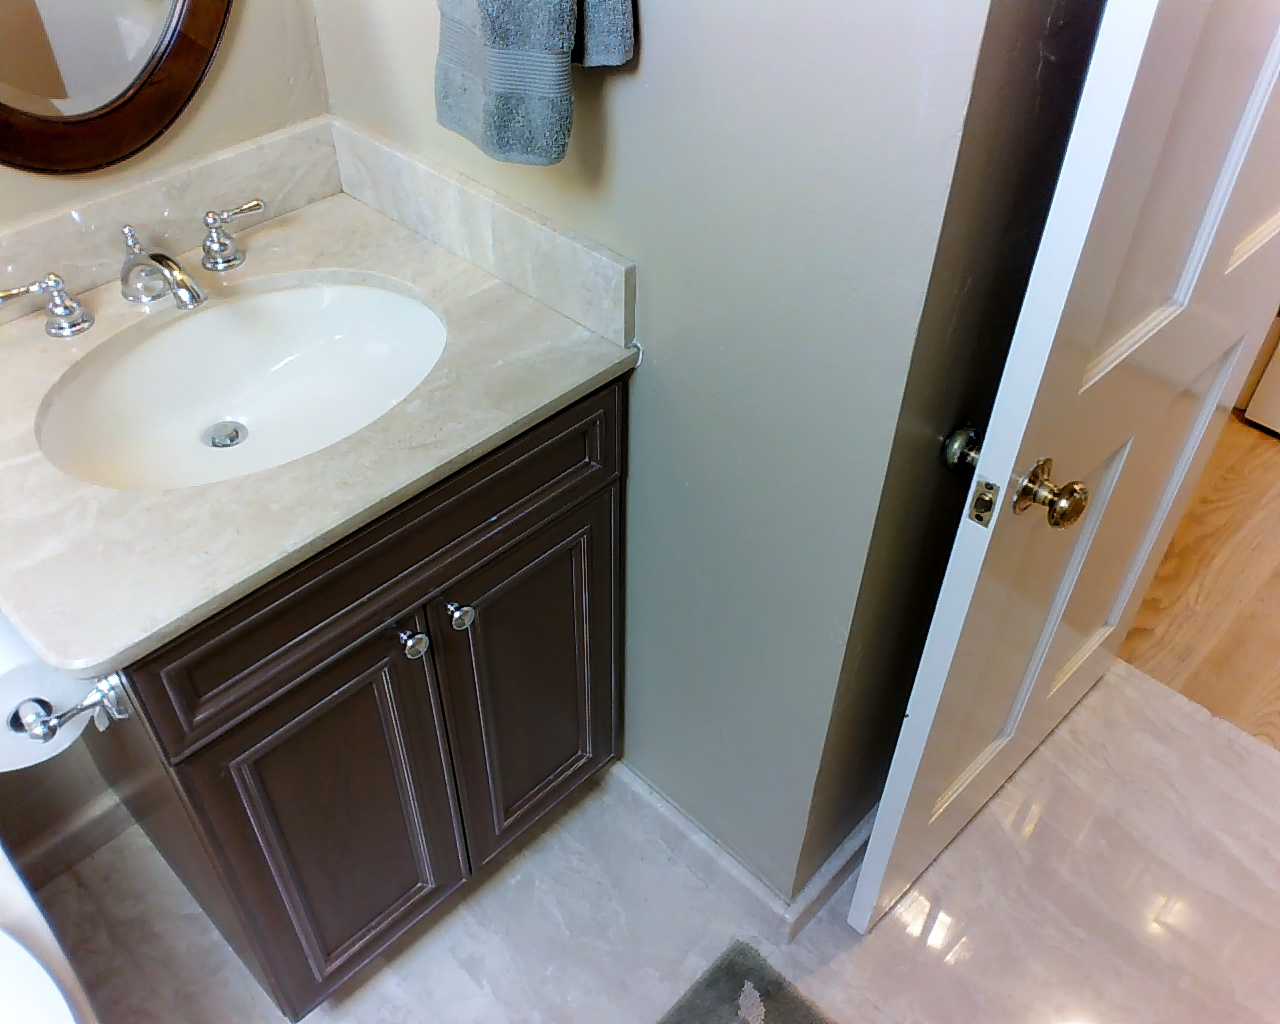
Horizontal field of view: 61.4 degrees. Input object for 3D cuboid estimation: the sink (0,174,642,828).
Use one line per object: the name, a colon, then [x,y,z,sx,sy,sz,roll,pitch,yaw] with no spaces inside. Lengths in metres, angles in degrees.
sink: [-0.440,-0.090,1.230,0.570,0.210,0.680,33,51,30]

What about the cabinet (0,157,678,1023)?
cabinet: [-0.430,0.160,1.510,0.620,0.950,0.700,33,51,30]
